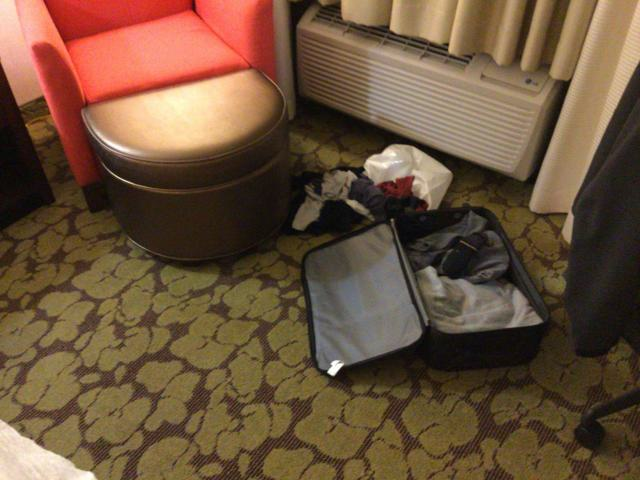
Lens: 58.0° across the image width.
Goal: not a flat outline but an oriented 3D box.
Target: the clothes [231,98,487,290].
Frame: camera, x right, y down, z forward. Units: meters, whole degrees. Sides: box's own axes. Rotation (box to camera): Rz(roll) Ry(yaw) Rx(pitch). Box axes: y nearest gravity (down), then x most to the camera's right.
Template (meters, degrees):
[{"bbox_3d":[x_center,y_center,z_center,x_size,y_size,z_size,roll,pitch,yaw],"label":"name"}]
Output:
[{"bbox_3d":[0.160,-0.220,2.120,0.640,0.130,0.720,25,49,24],"label":"clothes"}]

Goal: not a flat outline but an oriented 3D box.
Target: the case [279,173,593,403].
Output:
[{"bbox_3d":[0.280,0.100,1.740,0.750,0.170,0.690,-5,44,-5],"label":"case"}]

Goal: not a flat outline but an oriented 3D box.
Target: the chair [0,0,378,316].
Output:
[{"bbox_3d":[-0.530,-0.610,1.940,0.890,0.880,1.220,-20,47,-20],"label":"chair"}]
